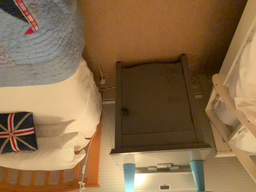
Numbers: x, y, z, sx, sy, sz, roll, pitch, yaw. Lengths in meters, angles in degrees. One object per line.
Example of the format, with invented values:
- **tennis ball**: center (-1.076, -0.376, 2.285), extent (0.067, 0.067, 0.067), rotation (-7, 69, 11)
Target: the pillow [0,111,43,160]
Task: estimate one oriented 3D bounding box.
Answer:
- **pillow**: center (-0.820, 0.260, 1.450), extent (0.420, 0.280, 0.090), rotation (6, -174, 0)
